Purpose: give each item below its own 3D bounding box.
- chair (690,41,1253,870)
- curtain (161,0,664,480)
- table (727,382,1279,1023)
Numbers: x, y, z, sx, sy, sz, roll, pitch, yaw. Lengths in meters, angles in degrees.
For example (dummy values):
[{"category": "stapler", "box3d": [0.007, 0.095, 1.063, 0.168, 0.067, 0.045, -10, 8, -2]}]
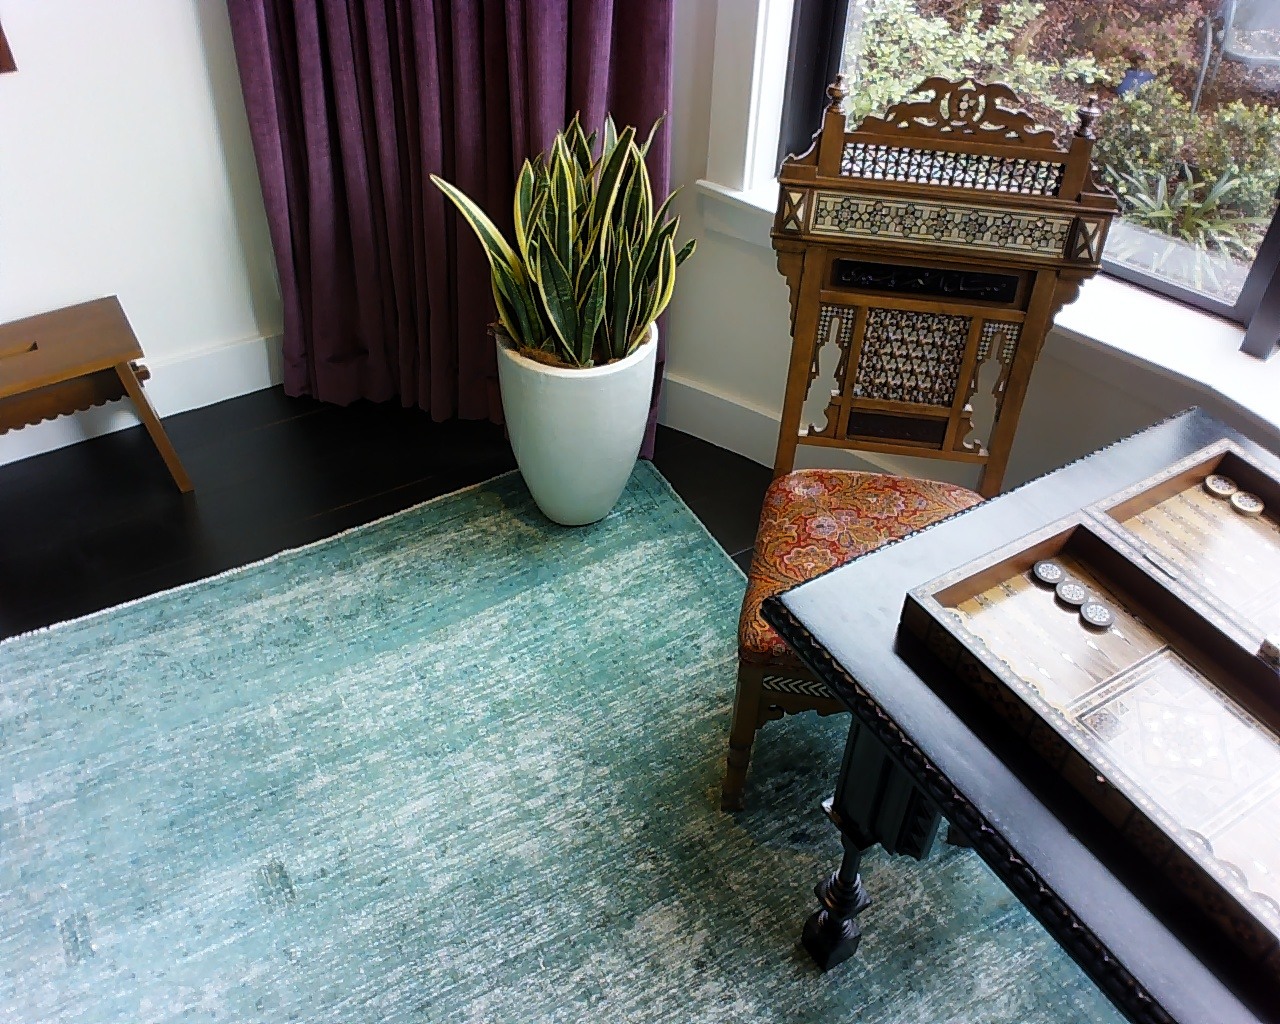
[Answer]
[{"category": "chair", "box3d": [0.390, -0.050, 1.590, 0.490, 1.020, 0.590, 9, 43, 9]}, {"category": "curtain", "box3d": [-0.420, -1.020, 1.830, 0.920, 2.150, 0.160, 12, 43, 13]}, {"category": "table", "box3d": [0.580, 0.430, 1.240, 0.620, 0.760, 0.710, -21, 46, -22]}]
